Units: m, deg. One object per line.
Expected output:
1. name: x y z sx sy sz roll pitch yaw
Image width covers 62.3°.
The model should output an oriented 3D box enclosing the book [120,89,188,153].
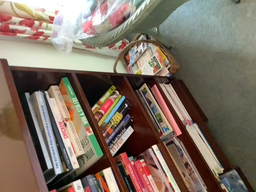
1. book: 0.130 0.120 1.090 0.180 0.180 0.250 -44 65 36

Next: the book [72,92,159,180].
1. book: -0.060 0.160 0.900 0.210 0.190 0.270 -43 65 36
